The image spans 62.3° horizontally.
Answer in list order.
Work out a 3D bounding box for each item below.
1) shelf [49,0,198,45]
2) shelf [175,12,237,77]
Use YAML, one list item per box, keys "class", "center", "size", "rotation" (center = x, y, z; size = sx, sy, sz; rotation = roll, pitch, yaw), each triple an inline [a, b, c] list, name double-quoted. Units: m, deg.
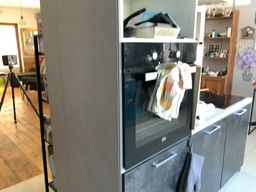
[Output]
- class: "shelf"
  center: [-0.010, -0.670, 1.170]
  size: [0.540, 0.750, 0.650]
  rotation: [13, 19, 42]
- class: "shelf"
  center: [1.470, -0.990, 4.160]
  size: [0.200, 1.120, 1.080]
  rotation: [-13, 19, -43]
